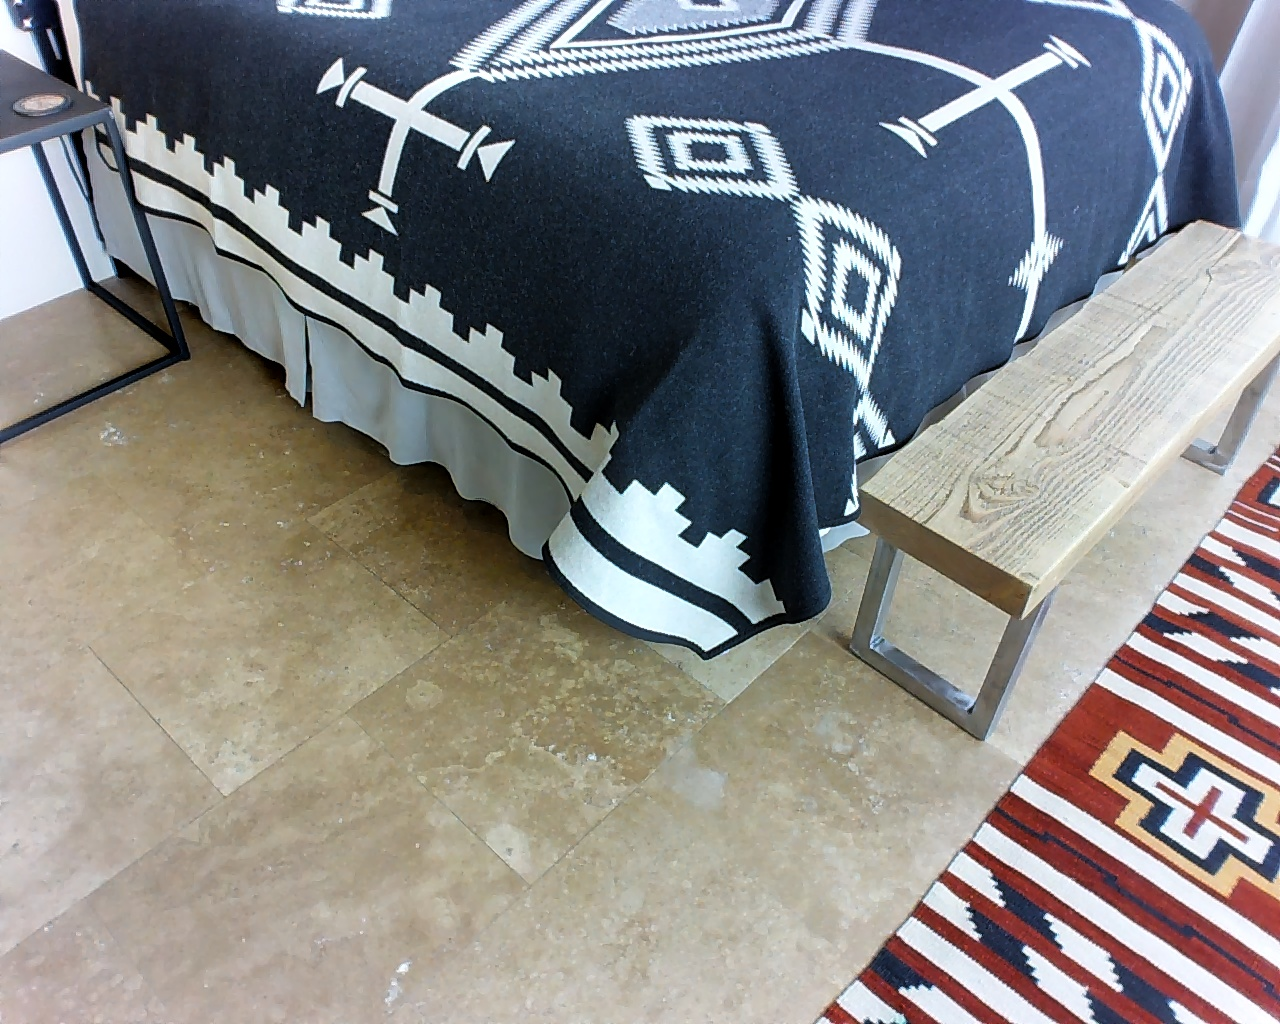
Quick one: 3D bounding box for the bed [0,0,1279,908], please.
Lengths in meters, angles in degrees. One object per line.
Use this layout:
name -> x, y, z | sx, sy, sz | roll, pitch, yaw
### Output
bed -> -0.070, -0.910, 2.270 | 2.290, 1.250, 2.040 | 32, 50, 30
